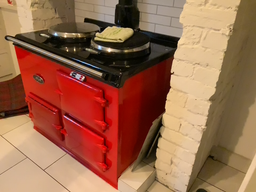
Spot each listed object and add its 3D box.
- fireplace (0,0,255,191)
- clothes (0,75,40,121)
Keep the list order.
[{"bbox_3d":[-0.190,-0.360,1.530,1.730,1.500,0.880,24,36,31],"label":"fireplace"},{"bbox_3d":[-1.250,0.000,2.240,0.480,0.090,0.740,-13,34,-25],"label":"clothes"}]
